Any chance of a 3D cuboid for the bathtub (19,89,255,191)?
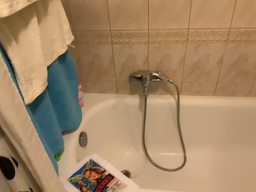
[{"bbox_3d":[0.400,0.410,1.230,1.620,0.560,0.680,2,38,7],"label":"bathtub"}]
